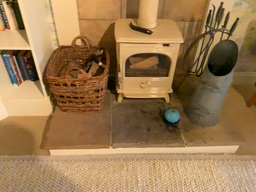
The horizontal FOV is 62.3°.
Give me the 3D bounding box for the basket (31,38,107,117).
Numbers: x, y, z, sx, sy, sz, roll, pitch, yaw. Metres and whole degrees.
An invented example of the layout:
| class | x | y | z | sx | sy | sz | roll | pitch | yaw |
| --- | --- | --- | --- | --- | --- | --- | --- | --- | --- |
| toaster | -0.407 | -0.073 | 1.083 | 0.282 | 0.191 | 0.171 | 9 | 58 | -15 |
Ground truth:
| class | x | y | z | sx | sy | sz | roll | pitch | yaw |
| --- | --- | --- | --- | --- | --- | --- | --- | --- | --- |
| basket | -0.400 | -0.160 | 1.660 | 0.460 | 0.360 | 0.550 | 0 | 41 | -4 |
